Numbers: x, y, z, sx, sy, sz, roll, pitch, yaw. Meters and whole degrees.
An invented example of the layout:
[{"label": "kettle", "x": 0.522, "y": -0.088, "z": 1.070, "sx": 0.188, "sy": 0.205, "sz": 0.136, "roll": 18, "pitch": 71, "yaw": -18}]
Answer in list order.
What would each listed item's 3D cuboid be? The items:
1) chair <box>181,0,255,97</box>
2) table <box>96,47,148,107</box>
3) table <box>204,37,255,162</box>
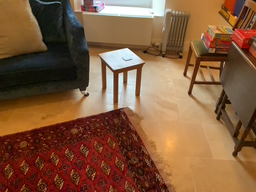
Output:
[{"label": "chair", "x": 0.960, "y": -0.540, "z": 2.300, "sx": 0.500, "sy": 0.920, "sz": 0.550, "roll": 3, "pitch": 37, "yaw": 0}, {"label": "table", "x": -0.070, "y": -0.210, "z": 2.240, "sx": 0.370, "sy": 0.420, "sz": 0.370, "roll": -25, "pitch": 45, "yaw": -32}, {"label": "table", "x": 0.970, "y": 0.010, "z": 1.750, "sx": 0.330, "sy": 0.730, "sz": 0.720, "roll": 3, "pitch": 37, "yaw": 0}]
